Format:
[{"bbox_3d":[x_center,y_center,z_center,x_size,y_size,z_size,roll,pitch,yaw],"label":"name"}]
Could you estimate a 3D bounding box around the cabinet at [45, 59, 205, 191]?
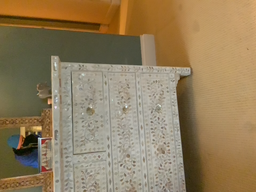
[{"bbox_3d":[-0.050,0.270,1.390,0.450,0.890,0.880,159,109,-69],"label":"cabinet"}]
